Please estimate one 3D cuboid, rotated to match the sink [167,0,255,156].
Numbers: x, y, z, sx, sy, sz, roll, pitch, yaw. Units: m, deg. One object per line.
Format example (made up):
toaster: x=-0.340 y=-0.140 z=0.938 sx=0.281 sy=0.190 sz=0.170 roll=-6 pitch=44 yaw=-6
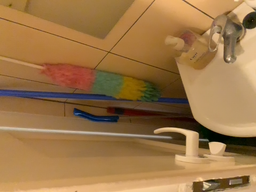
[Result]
sink: x=0.340 y=-0.050 z=0.560 sx=0.420 sy=0.160 sz=0.320 roll=-36 pitch=53 yaw=44
